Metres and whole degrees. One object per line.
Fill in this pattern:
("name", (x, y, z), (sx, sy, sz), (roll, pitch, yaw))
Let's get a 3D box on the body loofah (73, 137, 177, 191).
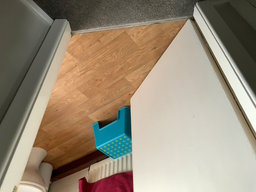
("body loofah", (-0.080, 0.810, 1.700), (0.950, 0.660, 0.150), (-29, 128, 24))
